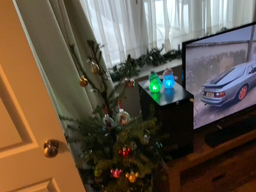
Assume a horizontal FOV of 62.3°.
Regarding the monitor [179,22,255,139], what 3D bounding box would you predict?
[{"bbox_3d":[0.800,-0.160,1.360,1.070,0.610,0.030,-18,30,-16],"label":"monitor"}]
